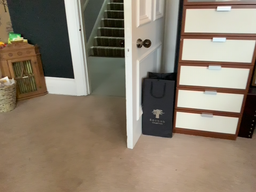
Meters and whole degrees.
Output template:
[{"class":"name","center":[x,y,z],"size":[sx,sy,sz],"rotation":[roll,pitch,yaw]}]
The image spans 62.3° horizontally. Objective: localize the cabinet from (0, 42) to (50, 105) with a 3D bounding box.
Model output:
[{"class":"cabinet","center":[-1.210,-0.270,2.460],"size":[0.340,0.620,0.350],"rotation":[6,26,15]}]

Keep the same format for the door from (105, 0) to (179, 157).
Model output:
[{"class":"door","center":[0.180,-0.770,1.600],"size":[0.240,2.170,1.100],"rotation":[8,26,19]}]

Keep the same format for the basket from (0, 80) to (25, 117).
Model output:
[{"class":"basket","center":[-1.300,0.020,2.240],"size":[0.220,0.290,0.270],"rotation":[5,25,13]}]
